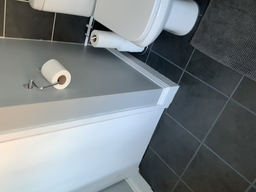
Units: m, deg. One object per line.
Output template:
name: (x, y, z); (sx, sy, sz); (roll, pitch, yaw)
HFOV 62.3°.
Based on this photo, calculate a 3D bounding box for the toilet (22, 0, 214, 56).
toilet: (-0.060, -0.570, 1.200); (0.690, 0.790, 0.390); (43, 125, 35)
